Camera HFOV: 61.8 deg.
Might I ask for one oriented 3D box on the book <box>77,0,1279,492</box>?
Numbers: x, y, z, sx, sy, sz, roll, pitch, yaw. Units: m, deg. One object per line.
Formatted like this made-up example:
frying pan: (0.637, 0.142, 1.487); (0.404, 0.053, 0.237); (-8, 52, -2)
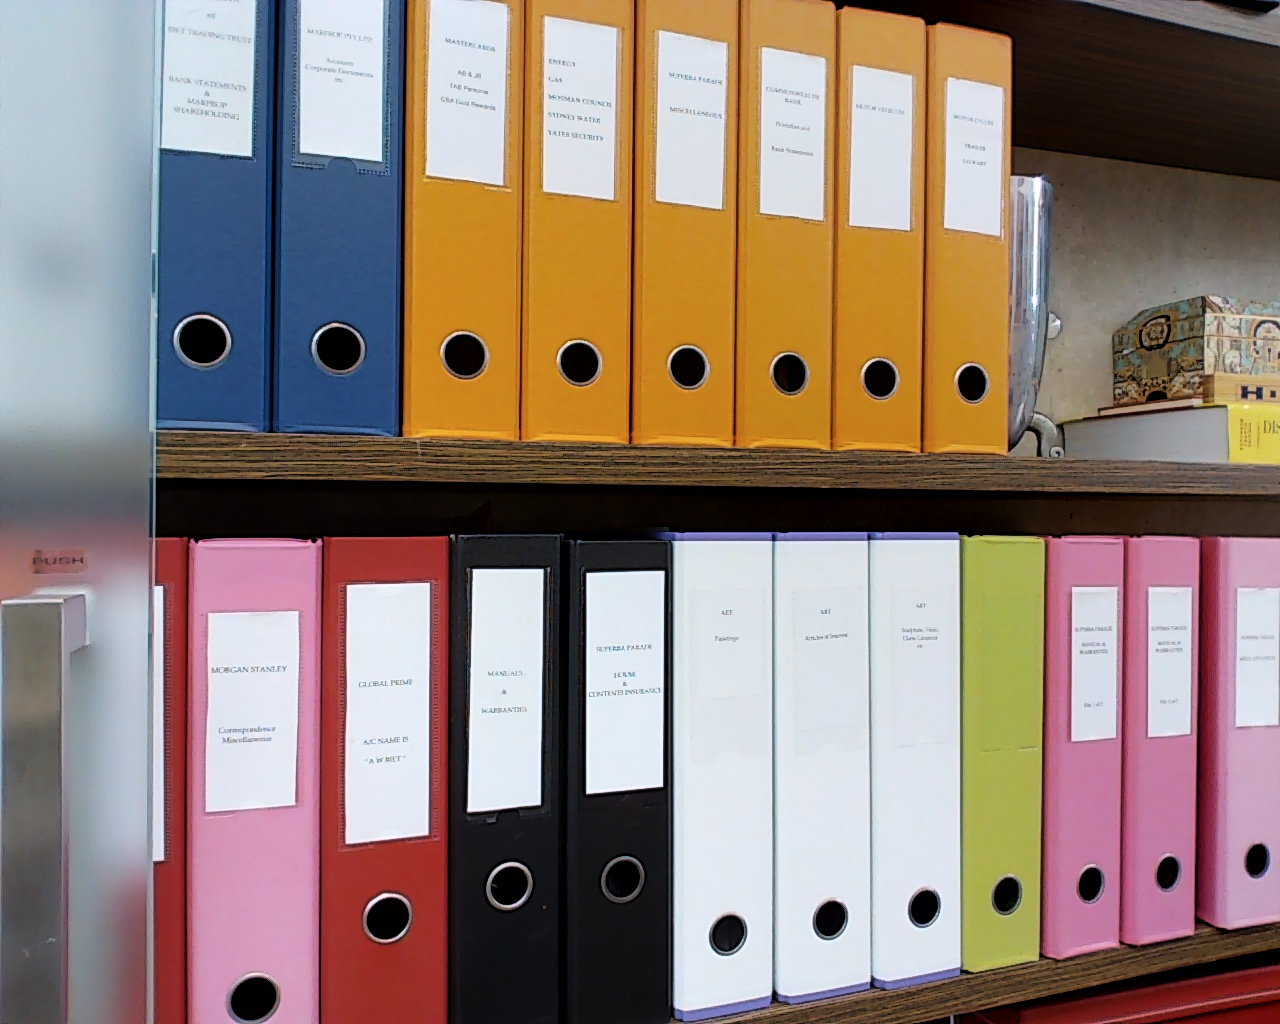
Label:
book: (0.060, -0.190, 0.800); (0.820, 0.330, 0.310); (0, -1, -21)

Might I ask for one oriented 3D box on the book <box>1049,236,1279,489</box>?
book: (0.630, -0.130, 1.080); (0.300, 0.200, 0.270); (0, -1, -22)
